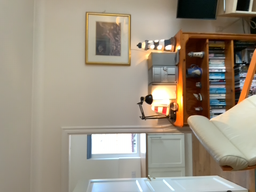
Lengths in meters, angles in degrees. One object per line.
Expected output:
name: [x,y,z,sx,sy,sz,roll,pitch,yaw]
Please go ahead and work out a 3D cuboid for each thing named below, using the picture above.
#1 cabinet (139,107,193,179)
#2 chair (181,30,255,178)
cabinet: [0.740,0.900,4.330,0.630,0.920,1.330,140,129,-83]
chair: [1.010,-0.020,1.490,0.760,0.960,0.770,-104,15,-68]
